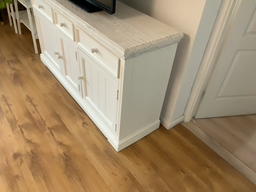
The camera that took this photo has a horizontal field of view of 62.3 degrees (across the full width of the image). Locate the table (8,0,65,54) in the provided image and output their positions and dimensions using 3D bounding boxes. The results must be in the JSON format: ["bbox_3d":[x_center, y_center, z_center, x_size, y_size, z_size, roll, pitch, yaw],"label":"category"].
[{"bbox_3d":[-1.220,-1.050,2.800,0.390,0.660,0.690,-26,50,-32],"label":"table"}]
